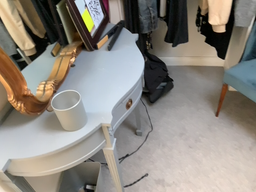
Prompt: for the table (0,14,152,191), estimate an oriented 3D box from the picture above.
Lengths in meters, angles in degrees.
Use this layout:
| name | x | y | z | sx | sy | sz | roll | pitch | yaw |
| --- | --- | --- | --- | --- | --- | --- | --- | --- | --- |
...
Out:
| name | x | y | z | sx | sy | sz | roll | pitch | yaw |
| --- | --- | --- | --- | --- | --- | --- | --- | --- | --- |
| table | -0.120 | 0.130 | 1.120 | 0.420 | 0.750 | 0.940 | 3 | 43 | 10 |
